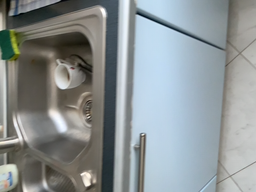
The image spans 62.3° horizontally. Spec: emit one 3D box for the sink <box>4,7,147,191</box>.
[{"bbox_3d":[-0.190,-0.010,0.670,0.440,0.200,0.400,7,96,38],"label":"sink"}]

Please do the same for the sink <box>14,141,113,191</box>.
[{"bbox_3d":[-0.220,0.280,0.670,0.350,0.120,0.180,7,96,38],"label":"sink"}]
